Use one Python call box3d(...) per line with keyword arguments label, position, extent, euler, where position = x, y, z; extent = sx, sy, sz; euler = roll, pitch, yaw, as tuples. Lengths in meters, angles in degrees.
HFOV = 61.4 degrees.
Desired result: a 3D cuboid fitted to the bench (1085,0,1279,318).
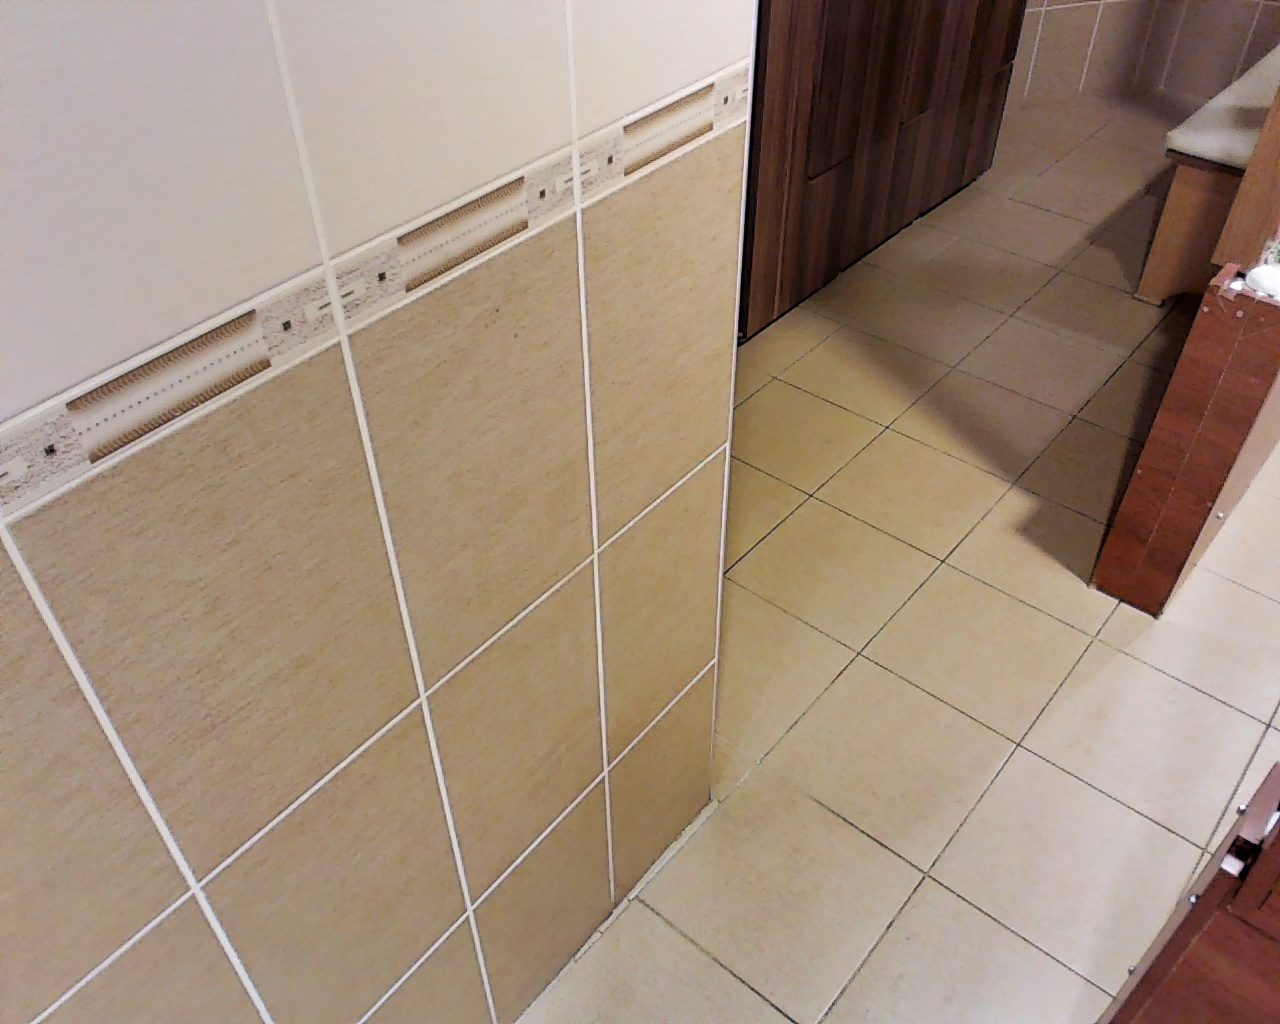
box3d(label="bench", position=(1.670, -1.080, 3.150), extent=(0.290, 0.550, 1.020), euler=(24, 48, 24))
